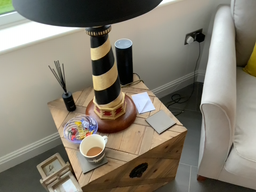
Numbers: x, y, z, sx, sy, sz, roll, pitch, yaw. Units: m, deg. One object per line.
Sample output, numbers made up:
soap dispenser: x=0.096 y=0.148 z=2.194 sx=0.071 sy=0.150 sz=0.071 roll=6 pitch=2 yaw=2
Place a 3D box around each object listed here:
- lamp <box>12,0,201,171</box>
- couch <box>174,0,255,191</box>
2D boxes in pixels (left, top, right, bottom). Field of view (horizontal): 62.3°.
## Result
lamp: x=-0.090 y=-0.190 z=0.730 sx=0.440 sy=0.790 sz=0.400 roll=-23 pitch=49 yaw=-19
couch: x=0.850 y=-0.020 z=1.120 sx=0.890 sy=0.910 sz=1.040 roll=14 pitch=48 yaw=15
